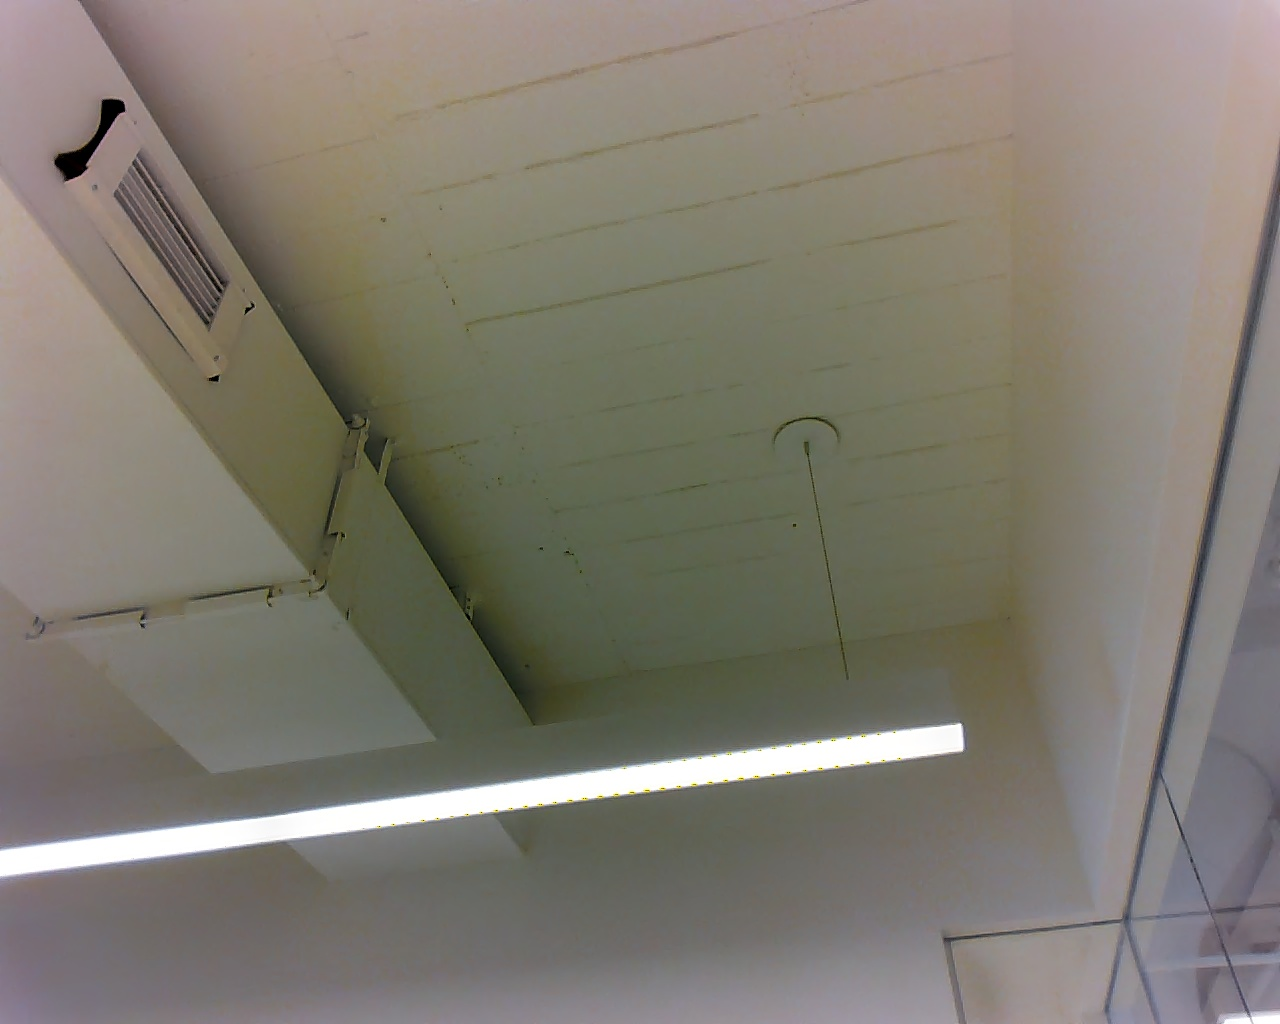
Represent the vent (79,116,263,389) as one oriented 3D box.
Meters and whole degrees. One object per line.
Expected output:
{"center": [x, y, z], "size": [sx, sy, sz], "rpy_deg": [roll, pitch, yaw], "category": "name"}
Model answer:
{"center": [-0.650, -0.360, 1.520], "size": [0.020, 0.180, 0.340], "rpy_deg": [-10, -43, 10], "category": "vent"}
